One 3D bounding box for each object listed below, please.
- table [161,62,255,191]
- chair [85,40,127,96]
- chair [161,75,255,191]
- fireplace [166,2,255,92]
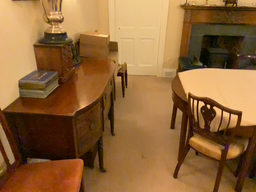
[{"bbox_3d":[1.590,0.260,2.140,2.360,0.730,1.380,3,27,4],"label":"table"},{"bbox_3d":[-0.330,-0.460,3.460,0.590,0.790,0.440,3,26,3],"label":"chair"},{"bbox_3d":[0.710,0.360,1.790,0.550,0.840,0.570,-21,34,-38],"label":"chair"},{"bbox_3d":[1.650,-0.990,3.990,1.580,1.320,1.380,1,27,1],"label":"fireplace"}]
